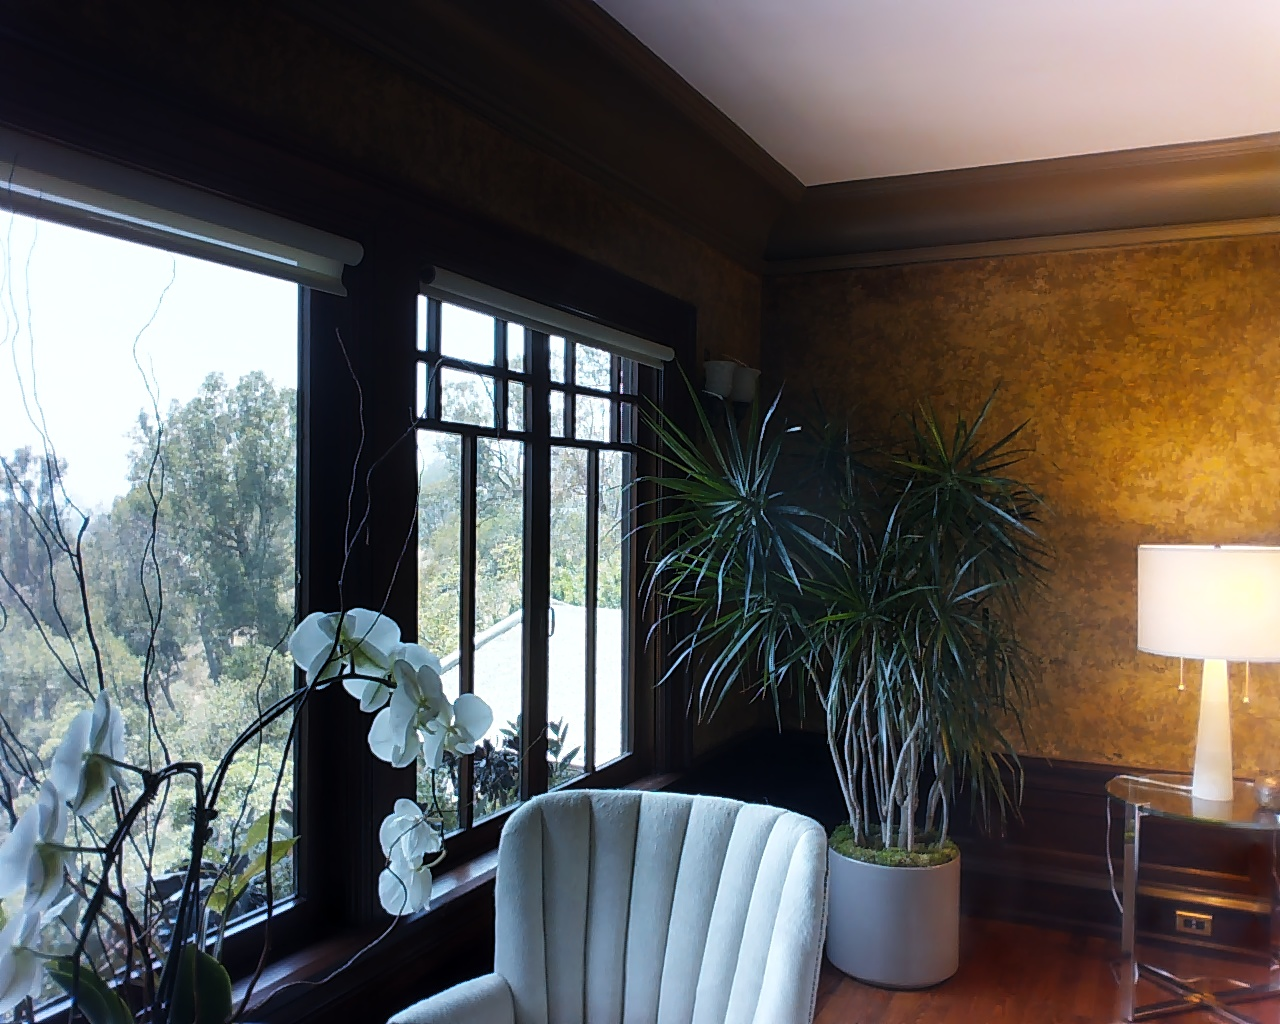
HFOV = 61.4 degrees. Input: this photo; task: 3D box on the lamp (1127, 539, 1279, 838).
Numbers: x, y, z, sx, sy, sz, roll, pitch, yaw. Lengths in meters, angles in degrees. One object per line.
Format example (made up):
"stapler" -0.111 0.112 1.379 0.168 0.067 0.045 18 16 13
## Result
"lamp" 1.850 0.520 3.410 0.530 0.840 0.510 1 1 26
